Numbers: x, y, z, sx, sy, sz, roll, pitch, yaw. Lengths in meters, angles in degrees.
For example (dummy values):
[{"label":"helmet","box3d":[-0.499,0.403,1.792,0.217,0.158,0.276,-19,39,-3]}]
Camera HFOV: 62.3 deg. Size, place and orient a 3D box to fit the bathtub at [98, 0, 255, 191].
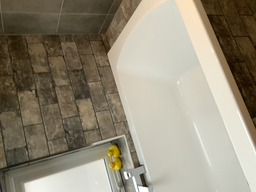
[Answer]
[{"label":"bathtub","box3d":[0.520,0.400,1.080,0.810,0.560,2.230,-38,66,57]}]
